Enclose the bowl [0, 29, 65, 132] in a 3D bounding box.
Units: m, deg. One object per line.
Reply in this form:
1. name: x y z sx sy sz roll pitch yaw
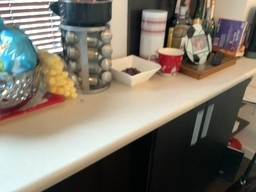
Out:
1. bowl: -0.390 -0.060 0.650 0.280 0.220 0.250 -20 35 -36
